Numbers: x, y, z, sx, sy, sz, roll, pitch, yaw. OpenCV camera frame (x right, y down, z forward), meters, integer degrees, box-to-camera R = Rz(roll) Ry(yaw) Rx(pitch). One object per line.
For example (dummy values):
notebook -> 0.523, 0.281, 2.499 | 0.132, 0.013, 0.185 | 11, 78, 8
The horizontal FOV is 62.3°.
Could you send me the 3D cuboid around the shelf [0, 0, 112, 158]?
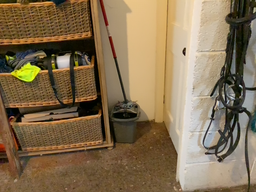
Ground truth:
shelf -> -0.840, -0.200, 1.640 | 1.320, 1.340, 0.390 | -5, 26, -3
